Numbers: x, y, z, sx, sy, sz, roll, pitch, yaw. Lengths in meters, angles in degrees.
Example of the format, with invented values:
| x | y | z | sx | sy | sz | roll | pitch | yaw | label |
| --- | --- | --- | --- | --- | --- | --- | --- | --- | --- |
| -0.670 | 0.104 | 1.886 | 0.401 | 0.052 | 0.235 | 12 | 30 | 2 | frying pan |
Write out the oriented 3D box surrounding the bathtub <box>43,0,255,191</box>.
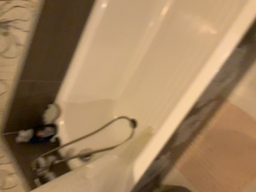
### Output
| x | y | z | sx | sy | sz | roll | pitch | yaw | label |
| --- | --- | --- | --- | --- | --- | --- | --- | --- | --- |
| 0.280 | -0.340 | 1.130 | 0.750 | 0.530 | 1.990 | 43 | 116 | 28 | bathtub |
